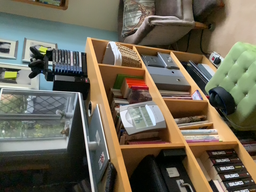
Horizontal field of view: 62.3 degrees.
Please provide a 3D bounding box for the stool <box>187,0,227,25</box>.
[{"bbox_3d":[0.660,-0.860,1.830,0.230,0.180,0.390,146,124,-63],"label":"stool"}]
